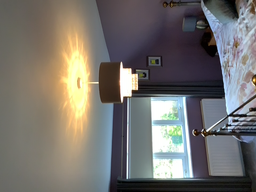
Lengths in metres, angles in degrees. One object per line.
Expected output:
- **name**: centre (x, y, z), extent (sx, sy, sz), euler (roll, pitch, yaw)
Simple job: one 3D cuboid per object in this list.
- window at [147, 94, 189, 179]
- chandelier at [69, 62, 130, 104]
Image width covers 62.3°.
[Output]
- **window**: centre (0.750, 0.740, 4.130), extent (0.120, 0.710, 1.620), euler (83, -173, -71)
- **chandelier**: centre (-0.200, -0.090, 1.650), extent (0.250, 0.430, 0.260), euler (81, -171, -76)
